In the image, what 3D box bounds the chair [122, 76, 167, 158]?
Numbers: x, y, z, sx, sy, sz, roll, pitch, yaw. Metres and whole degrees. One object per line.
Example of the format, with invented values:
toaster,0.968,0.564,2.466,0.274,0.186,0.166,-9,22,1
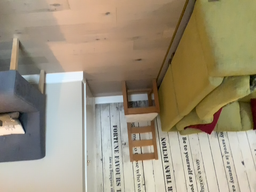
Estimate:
chair,0.190,0.320,2.980,0.480,1.000,0.640,-4,162,-2
